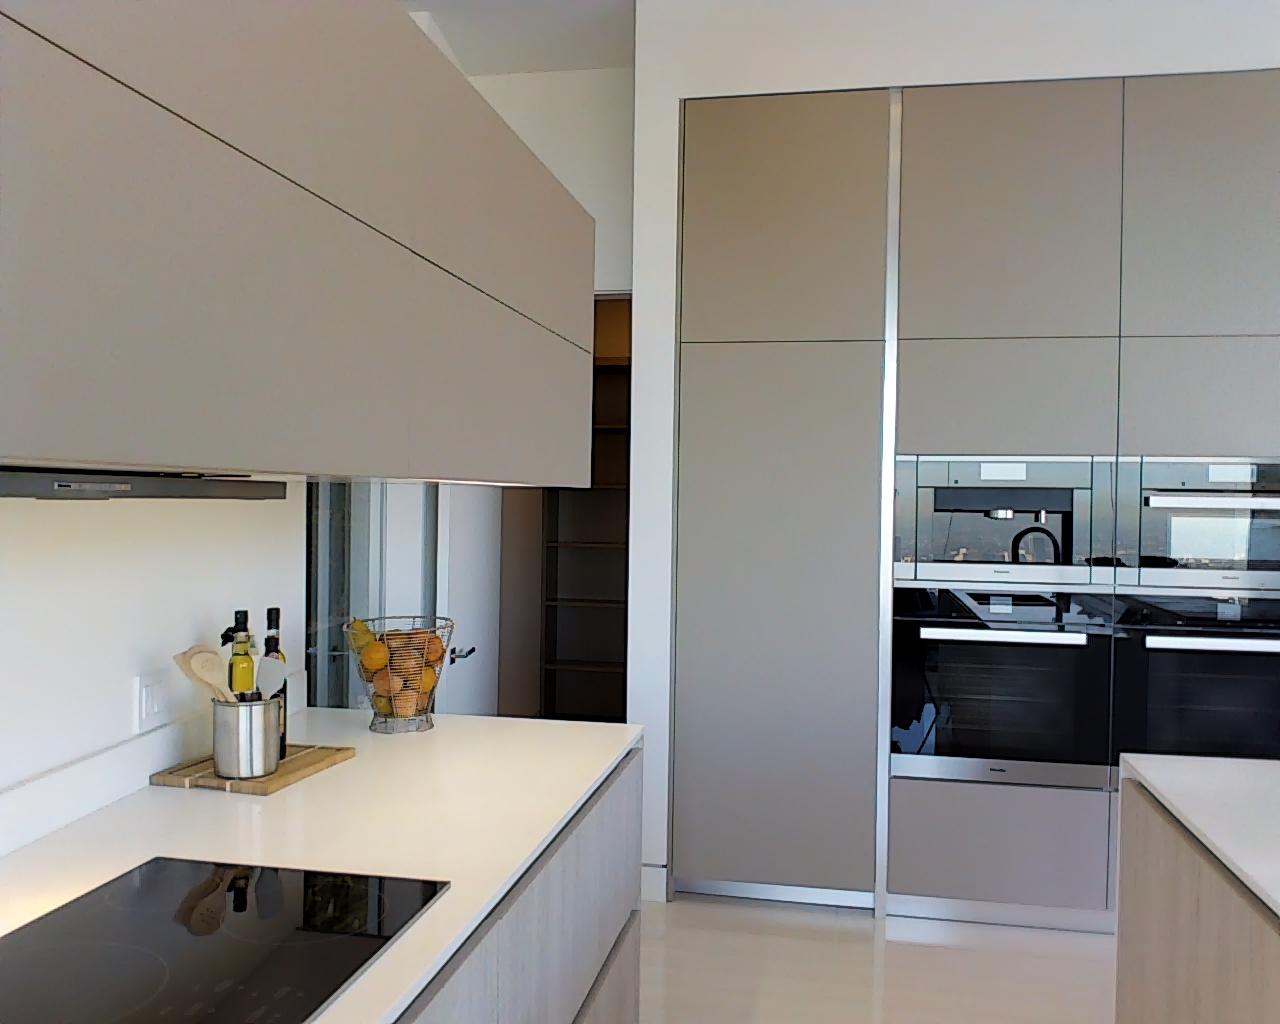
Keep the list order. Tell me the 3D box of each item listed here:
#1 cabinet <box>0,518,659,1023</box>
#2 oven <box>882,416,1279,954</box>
[{"bbox_3d":[-0.790,0.780,1.280,1.020,1.470,3.490,1,1,11],"label":"cabinet"},{"bbox_3d":[1.690,0.580,3.820,1.590,1.830,0.120,1,1,11],"label":"oven"}]
